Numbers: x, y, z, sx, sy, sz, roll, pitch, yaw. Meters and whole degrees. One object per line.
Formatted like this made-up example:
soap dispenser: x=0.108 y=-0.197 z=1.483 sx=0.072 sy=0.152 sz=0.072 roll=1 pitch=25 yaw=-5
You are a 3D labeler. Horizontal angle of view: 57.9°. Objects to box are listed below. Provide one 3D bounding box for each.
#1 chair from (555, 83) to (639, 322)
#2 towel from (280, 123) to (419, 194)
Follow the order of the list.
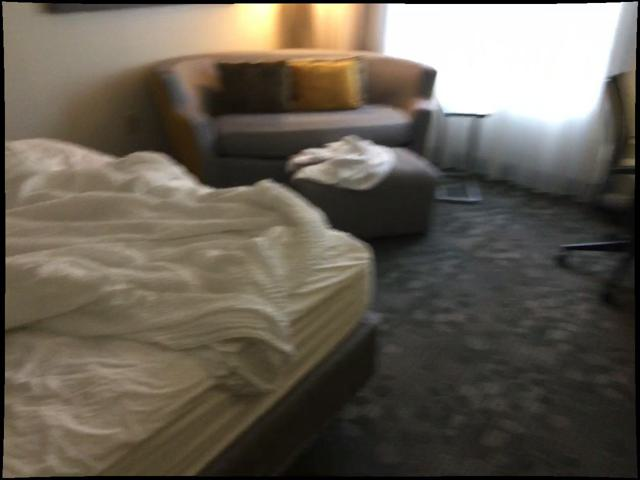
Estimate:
chair: x=1.648 y=-0.190 z=2.860 sx=0.540 sy=0.961 sz=0.660 roll=22 pitch=34 yaw=31
towel: x=0.140 y=-0.470 z=3.230 sx=0.669 sy=0.210 sz=0.520 roll=-3 pitch=29 yaw=-10
